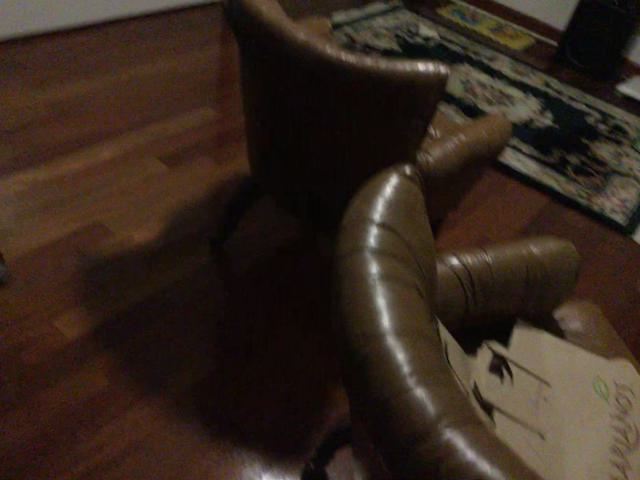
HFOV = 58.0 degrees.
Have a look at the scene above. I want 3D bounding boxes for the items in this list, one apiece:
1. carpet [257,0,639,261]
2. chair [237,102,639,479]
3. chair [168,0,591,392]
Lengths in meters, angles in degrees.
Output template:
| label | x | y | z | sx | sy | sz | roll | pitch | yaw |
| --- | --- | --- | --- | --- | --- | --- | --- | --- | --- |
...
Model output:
| label | x | y | z | sx | sy | sz | roll | pitch | yaw |
| --- | --- | --- | --- | --- | --- | --- | --- | --- | --- |
| carpet | 0.810 | -0.700 | 2.790 | 1.890 | 0.060 | 1.230 | 34 | 45 | 21 |
| chair | 0.330 | 0.350 | 0.930 | 0.830 | 0.770 | 0.750 | 2 | 42 | -13 |
| chair | 0.100 | -0.240 | 1.520 | 0.670 | 0.790 | 0.690 | 34 | 45 | 21 |
